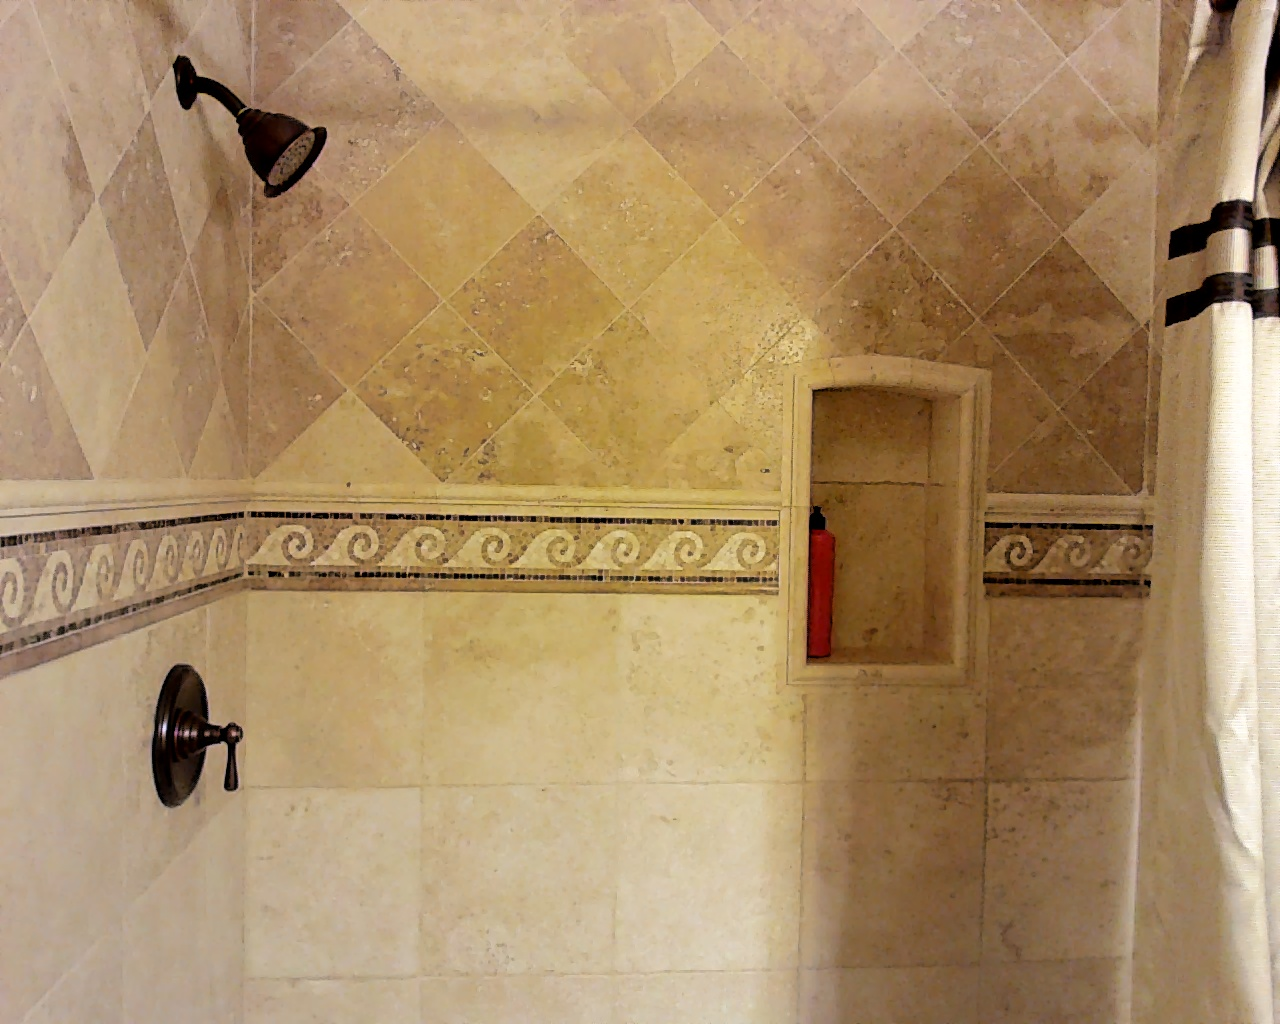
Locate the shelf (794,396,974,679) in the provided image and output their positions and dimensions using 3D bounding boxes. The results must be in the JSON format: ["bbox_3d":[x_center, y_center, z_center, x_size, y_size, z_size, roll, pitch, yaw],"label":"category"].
[{"bbox_3d":[0.400,0.040,1.770,0.260,0.450,0.130,0,1,-5],"label":"shelf"}]
